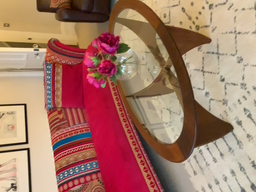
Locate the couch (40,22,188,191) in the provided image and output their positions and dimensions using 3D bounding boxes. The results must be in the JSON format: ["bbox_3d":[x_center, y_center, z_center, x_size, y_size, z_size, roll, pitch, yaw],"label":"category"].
[{"bbox_3d":[-0.350,0.510,2.230,1.210,0.770,2.420,-62,42,45],"label":"couch"}]
